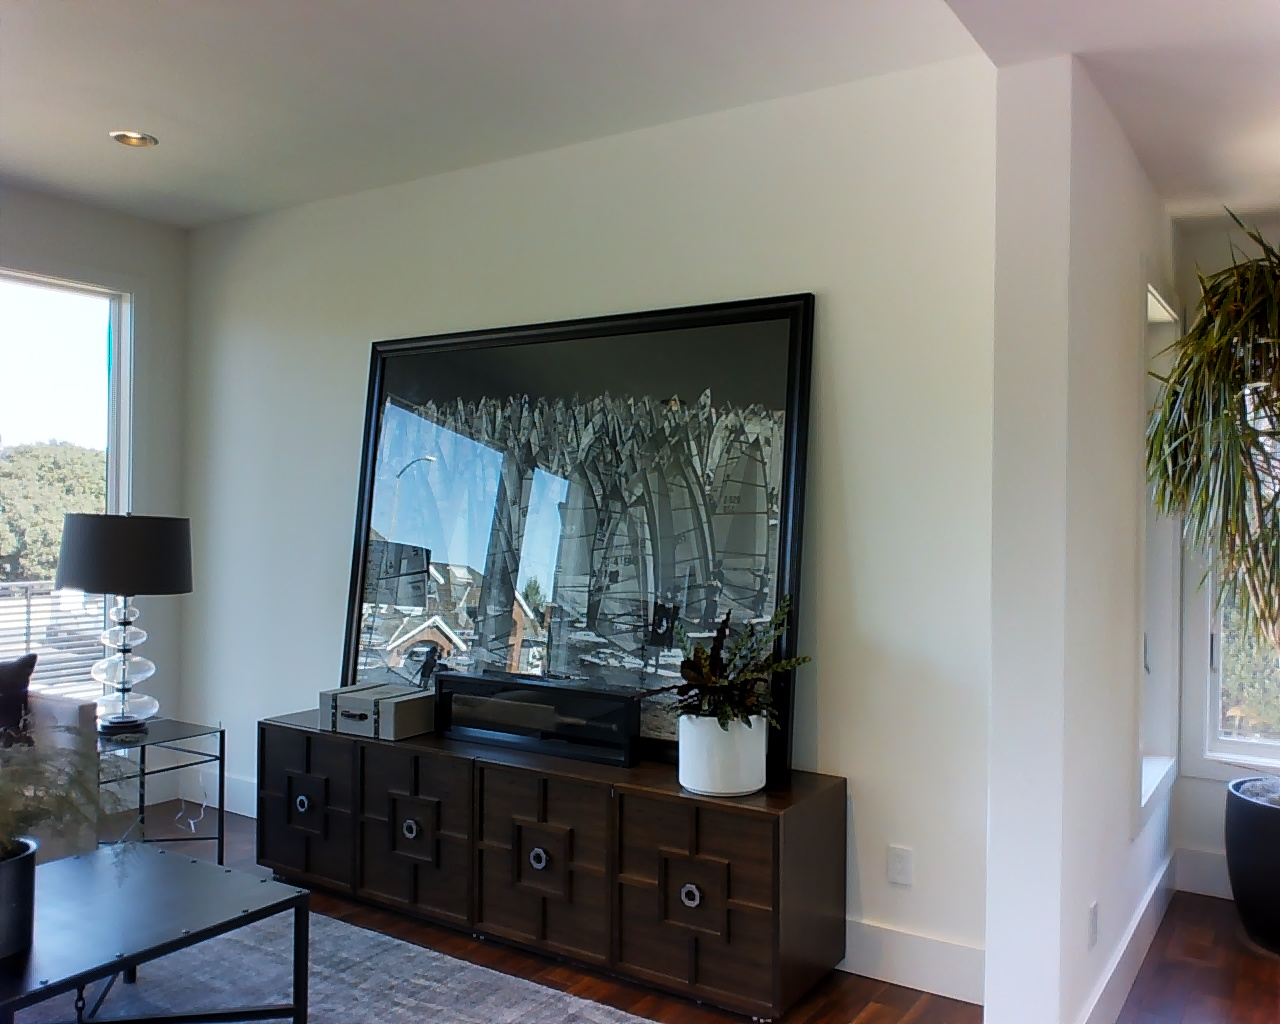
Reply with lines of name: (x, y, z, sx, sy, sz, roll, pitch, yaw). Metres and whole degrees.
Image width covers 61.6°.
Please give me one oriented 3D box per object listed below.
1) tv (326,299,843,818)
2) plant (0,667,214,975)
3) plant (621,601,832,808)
tv: (-0.370, 0.050, 4.280, 2.250, 1.720, 0.110, 9, 4, 33)
plant: (-1.690, 0.770, 2.740, 0.660, 0.590, 0.900, 1, 0, 33)
plant: (0.290, 0.600, 3.530, 0.540, 0.560, 0.450, 1, 0, 32)
